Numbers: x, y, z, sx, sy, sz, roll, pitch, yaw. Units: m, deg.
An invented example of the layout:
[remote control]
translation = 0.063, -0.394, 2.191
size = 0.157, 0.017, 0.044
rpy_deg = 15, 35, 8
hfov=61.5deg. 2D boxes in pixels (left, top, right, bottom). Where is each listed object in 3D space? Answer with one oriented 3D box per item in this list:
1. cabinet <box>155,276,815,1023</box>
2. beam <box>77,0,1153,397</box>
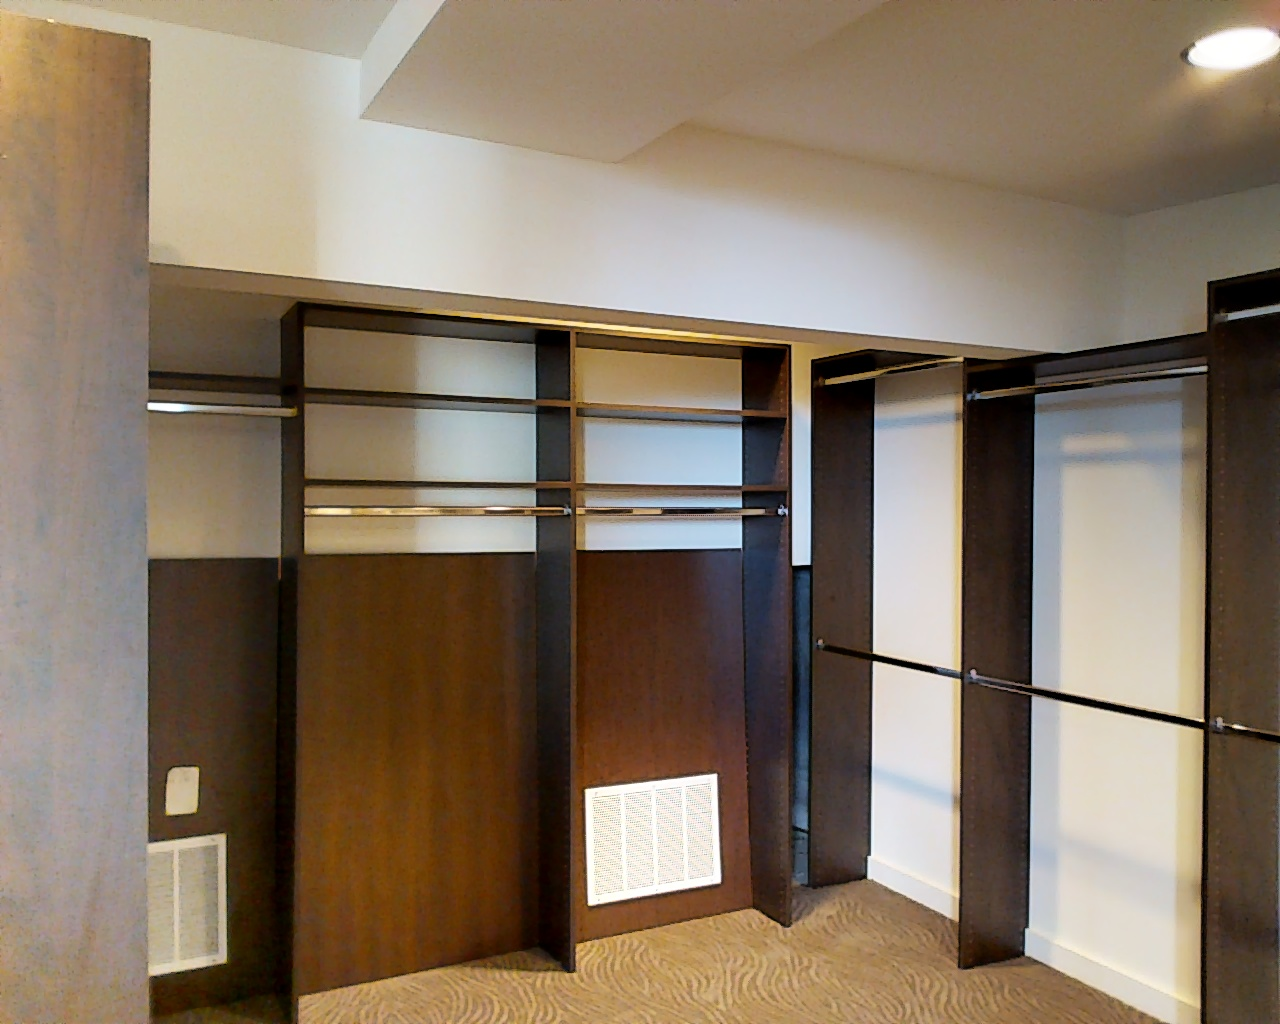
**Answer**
[cabinet]
translation = -0.420, 0.440, 3.560
size = 2.130, 2.150, 0.360
rpy_deg = 1, 0, -26
[beam]
translation = 0.170, -0.680, 2.810
size = 2.890, 0.560, 0.390
rpy_deg = 1, 0, -26
